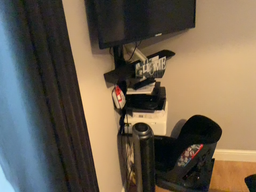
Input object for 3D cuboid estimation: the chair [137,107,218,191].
[{"bbox_3d":[0.430,0.470,1.820,0.570,0.590,0.420,3,23,18],"label":"chair"}]
